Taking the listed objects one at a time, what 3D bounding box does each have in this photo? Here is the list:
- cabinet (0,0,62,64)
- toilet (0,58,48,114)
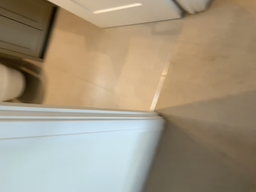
[{"bbox_3d":[-1.090,-0.690,1.940,0.390,0.720,0.580,22,98,34],"label":"cabinet"},{"bbox_3d":[-1.170,-0.110,2.080,0.510,0.430,0.420,22,98,34],"label":"toilet"}]
